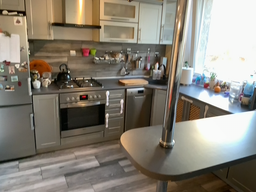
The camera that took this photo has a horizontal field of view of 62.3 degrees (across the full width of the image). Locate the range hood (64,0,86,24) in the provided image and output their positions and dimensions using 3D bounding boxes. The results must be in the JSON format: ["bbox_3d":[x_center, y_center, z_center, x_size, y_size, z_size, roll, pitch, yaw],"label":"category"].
[{"bbox_3d":[-0.700,-1.460,2.770,0.240,0.960,0.240,-5,18,-27],"label":"range hood"}]
